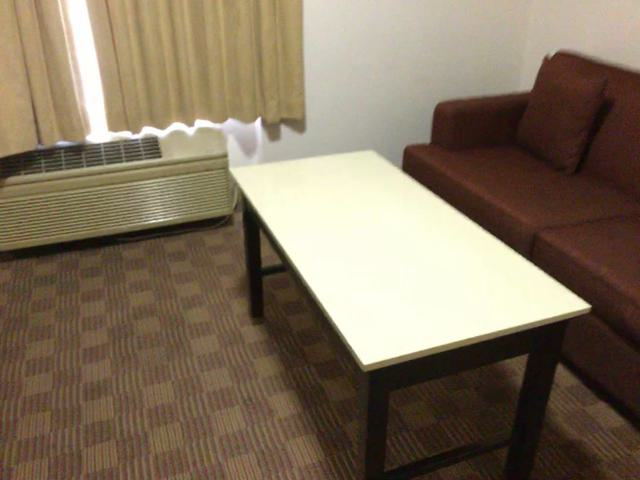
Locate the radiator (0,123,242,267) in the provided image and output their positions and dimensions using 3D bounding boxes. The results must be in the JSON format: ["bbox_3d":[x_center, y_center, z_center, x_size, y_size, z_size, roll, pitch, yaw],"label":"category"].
[{"bbox_3d":[-0.910,-0.210,2.560,1.080,0.500,0.160,-8,29,-16],"label":"radiator"}]

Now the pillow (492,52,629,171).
[{"bbox_3d":[0.990,-0.560,2.450,0.230,0.370,0.470,-9,29,-18],"label":"pillow"}]

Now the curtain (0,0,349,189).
[{"bbox_3d":[-0.820,-1.060,2.140,1.810,1.550,0.500,-9,29,-18],"label":"curtain"}]
